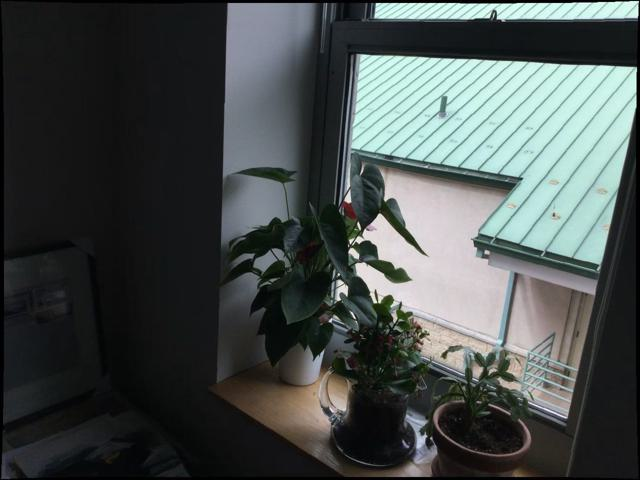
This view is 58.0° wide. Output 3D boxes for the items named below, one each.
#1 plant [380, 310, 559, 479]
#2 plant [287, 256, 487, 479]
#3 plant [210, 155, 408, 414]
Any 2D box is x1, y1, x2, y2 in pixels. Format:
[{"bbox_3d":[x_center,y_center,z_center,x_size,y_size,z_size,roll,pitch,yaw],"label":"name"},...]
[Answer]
[{"bbox_3d":[0.279,0.311,1.070,0.220,0.251,0.220,19,18,25],"label":"plant"},{"bbox_3d":[0.130,0.251,1.120,0.250,0.341,0.230,19,18,25],"label":"plant"},{"bbox_3d":[-0.030,0.080,1.320,0.300,0.481,0.230,19,18,25],"label":"plant"}]
